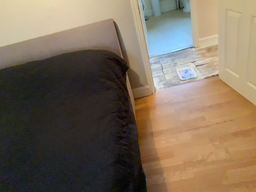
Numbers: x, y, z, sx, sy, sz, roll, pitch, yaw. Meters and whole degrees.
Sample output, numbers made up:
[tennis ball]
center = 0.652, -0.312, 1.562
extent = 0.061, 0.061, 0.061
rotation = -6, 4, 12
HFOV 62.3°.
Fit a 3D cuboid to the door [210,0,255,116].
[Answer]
[door]
center = 0.830, -0.790, 1.600
extent = 0.040, 1.940, 0.770
rotation = -18, 33, -2
